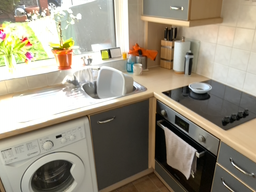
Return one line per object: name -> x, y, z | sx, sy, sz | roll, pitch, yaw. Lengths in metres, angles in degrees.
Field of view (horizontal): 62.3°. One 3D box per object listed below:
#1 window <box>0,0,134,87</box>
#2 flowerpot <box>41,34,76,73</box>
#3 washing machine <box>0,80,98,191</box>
window -> -0.800, -0.660, 1.610 | 1.830, 1.080, 0.200 | -14, 29, -25
flowerpot -> -0.620, -0.390, 1.890 | 0.190, 0.250, 0.340 | -15, 29, -25
washing machine -> -0.670, 0.460, 1.670 | 0.600, 0.920, 0.650 | -15, 29, -27
